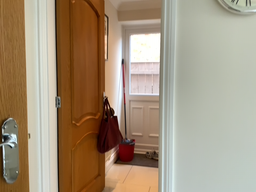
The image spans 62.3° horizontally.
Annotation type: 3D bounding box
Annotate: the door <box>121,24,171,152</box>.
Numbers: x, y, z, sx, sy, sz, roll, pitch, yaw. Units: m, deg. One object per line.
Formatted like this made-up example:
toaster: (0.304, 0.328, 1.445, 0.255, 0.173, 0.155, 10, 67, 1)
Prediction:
door: (0.280, -0.120, 3.440, 0.740, 2.000, 0.170, 1, 4, 7)
